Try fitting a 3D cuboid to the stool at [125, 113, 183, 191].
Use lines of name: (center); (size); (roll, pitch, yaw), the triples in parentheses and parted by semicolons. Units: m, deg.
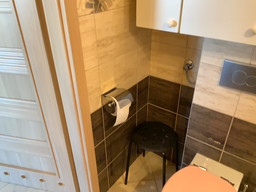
stool: (0.190, 0.430, 1.640); (0.300, 0.440, 0.300); (21, 37, 31)
